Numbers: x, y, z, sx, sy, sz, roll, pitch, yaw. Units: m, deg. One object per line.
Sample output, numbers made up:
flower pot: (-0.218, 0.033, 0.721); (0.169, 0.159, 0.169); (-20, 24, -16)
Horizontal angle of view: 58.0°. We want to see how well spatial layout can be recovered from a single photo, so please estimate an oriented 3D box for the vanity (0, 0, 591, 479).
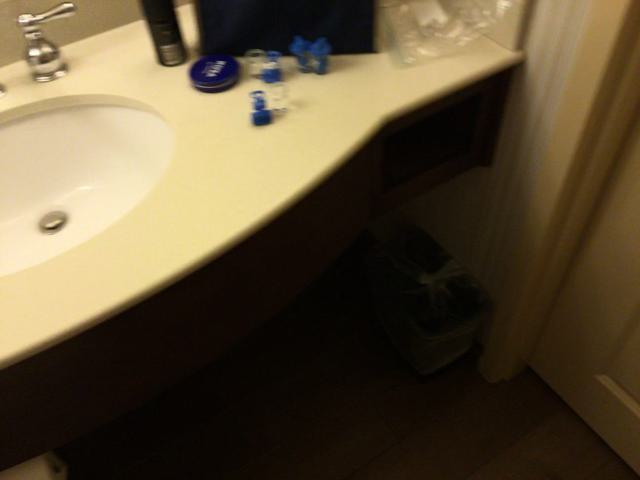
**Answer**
vanity: (-0.410, -0.040, 0.850); (1.470, 0.420, 0.600); (-28, 51, -18)
